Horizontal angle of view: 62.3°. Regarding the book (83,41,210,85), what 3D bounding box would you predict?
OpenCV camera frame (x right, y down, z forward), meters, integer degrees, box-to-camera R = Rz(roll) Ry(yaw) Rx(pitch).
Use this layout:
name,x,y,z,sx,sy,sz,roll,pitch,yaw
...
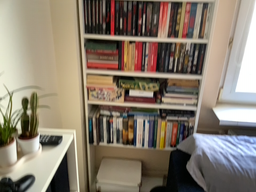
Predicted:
name,x,y,z,sx,sy,sz,roll,pitch,yaw
book,0.110,-0.230,1.430,0.780,0.210,0.180,5,22,6

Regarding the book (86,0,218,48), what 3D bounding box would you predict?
name,x,y,z,sx,sy,sz,roll,pitch,yaw
book,0.130,-0.460,1.330,0.740,0.240,0.200,4,22,4
